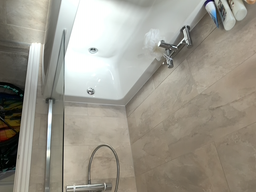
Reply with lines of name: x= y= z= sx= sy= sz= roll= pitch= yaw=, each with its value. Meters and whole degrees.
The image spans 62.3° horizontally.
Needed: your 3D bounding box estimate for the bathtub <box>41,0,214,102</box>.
bathtub: x=-0.040 y=-0.610 z=1.220 sx=0.700 sy=0.540 sz=1.700 roll=5 pitch=149 yaw=-25
